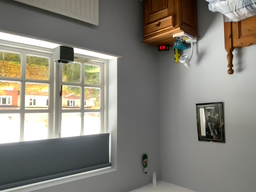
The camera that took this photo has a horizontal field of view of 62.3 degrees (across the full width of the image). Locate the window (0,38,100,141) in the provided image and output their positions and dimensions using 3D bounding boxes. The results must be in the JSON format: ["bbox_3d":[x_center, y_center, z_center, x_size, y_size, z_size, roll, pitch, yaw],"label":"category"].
[{"bbox_3d":[-0.950,-0.050,1.920,1.660,0.870,0.050,3,175,-43],"label":"window"}]

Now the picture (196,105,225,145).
[{"bbox_3d":[0.880,0.300,2.280,0.050,0.410,0.300,3,175,-41],"label":"picture"}]

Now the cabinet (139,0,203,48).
[{"bbox_3d":[0.490,-1.010,2.480,0.440,0.700,0.580,3,175,-42],"label":"cabinet"}]
